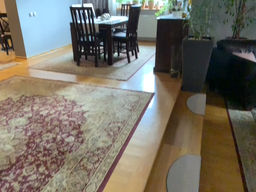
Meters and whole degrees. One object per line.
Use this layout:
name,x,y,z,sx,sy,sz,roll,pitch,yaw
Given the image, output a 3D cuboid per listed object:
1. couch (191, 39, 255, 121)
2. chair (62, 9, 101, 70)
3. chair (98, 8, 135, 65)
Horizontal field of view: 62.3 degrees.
couch,1.970,-0.360,3.400,1.270,0.830,1.250,-7,25,-16
chair,-0.850,-1.090,4.020,0.430,1.030,0.560,6,25,13
chair,-0.210,-1.220,4.300,0.560,1.040,0.460,11,26,23
